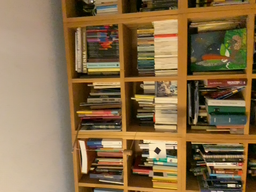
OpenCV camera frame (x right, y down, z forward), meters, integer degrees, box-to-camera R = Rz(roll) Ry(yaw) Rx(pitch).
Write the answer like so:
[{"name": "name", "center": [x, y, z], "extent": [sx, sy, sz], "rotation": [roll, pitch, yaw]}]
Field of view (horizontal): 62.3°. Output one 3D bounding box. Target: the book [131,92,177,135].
[{"name": "book", "center": [0.210, 0.120, 1.640], "extent": [0.310, 0.320, 0.280], "rotation": [-22, -69, -79]}]

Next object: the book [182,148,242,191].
[{"name": "book", "center": [0.600, 0.590, 1.570], "extent": [0.250, 0.370, 0.320], "rotation": [-22, -69, -79]}]

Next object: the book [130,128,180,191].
[{"name": "book", "center": [0.220, 0.620, 1.670], "extent": [0.300, 0.350, 0.670], "rotation": [-22, -69, -79]}]
